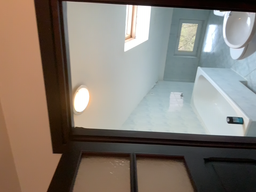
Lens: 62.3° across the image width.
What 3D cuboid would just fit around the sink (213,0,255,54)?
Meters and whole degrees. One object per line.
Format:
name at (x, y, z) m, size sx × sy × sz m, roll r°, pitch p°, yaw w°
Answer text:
sink at (0.990, -0.670, 1.870) m, size 0.560 × 0.170 × 0.450 m, roll -89°, pitch 3°, yaw -64°

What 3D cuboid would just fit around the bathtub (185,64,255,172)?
bathtub at (1.350, 0.160, 2.970) m, size 1.710 × 0.550 × 0.690 m, roll -93°, pitch 6°, yaw -64°
